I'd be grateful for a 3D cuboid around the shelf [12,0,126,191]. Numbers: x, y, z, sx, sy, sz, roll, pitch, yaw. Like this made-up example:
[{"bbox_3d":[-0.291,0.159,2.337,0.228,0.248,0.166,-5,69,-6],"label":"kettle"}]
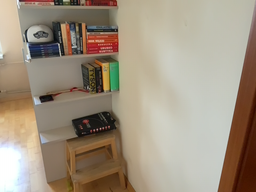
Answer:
[{"bbox_3d":[-0.400,-0.380,1.550,0.690,2.430,0.330,-9,24,-23],"label":"shelf"}]
